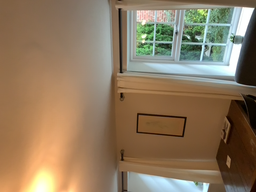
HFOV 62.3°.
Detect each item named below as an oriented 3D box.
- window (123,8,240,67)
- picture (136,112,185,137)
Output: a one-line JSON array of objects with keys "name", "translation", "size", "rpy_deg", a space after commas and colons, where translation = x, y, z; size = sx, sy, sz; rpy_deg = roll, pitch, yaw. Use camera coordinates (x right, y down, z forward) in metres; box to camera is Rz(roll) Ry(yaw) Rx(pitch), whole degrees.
[{"name": "window", "translation": [0.690, -0.820, 3.020], "size": [0.080, 1.510, 0.770], "rpy_deg": [-75, -14, -62]}, {"name": "picture", "translation": [0.480, 0.430, 3.180], "size": [0.040, 0.700, 0.350], "rpy_deg": [-75, -13, -61]}]
